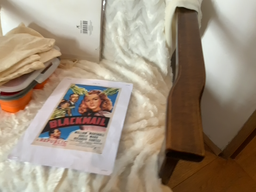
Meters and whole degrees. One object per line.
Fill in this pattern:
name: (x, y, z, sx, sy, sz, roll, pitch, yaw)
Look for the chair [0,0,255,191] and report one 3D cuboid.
chair: (-0.180, -0.060, 0.610, 0.700, 0.750, 0.740, 9, 49, 4)
